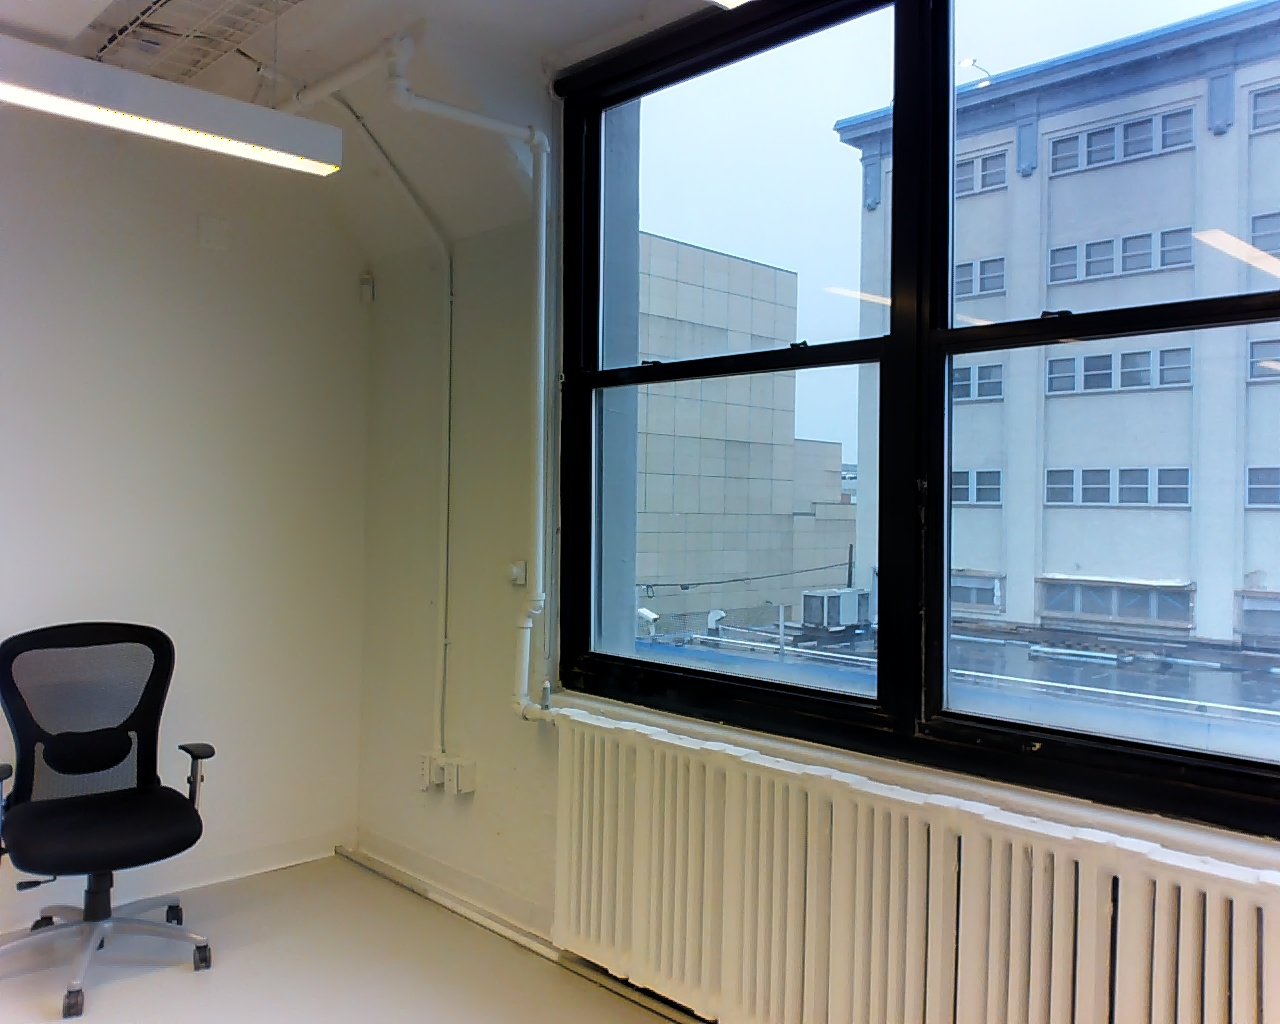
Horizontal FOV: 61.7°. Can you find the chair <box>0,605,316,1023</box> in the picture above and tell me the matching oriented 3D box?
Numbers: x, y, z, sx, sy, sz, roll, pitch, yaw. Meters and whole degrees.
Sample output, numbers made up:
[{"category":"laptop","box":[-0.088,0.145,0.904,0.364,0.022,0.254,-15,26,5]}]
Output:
[{"category":"chair","box":[-1.610,0.870,3.400,0.830,1.060,0.770,2,-1,-44]}]

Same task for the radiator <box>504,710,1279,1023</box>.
[{"category":"radiator","box":[0.440,1.050,2.670,0.180,0.770,2.310,2,-1,-44]}]

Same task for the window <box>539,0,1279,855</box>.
[{"category":"window","box":[1.580,-0.410,1.730,0.140,2.110,5.299,2,-1,-44]}]
